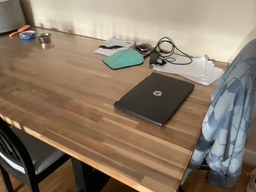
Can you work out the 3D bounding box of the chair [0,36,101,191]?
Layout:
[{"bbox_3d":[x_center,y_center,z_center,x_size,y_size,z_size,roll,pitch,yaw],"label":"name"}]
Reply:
[{"bbox_3d":[-0.510,0.230,1.190,0.430,0.940,0.480,21,40,30],"label":"chair"}]
